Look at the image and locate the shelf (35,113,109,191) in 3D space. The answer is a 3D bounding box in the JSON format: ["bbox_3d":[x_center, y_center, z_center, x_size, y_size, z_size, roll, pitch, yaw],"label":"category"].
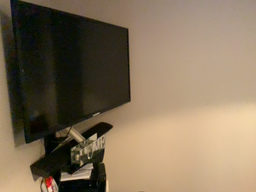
[{"bbox_3d":[-0.320,0.770,1.500,0.370,1.190,0.480,-3,10,-5],"label":"shelf"}]

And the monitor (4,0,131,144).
[{"bbox_3d":[-0.220,-0.160,1.240,0.050,0.560,0.940,2,11,26],"label":"monitor"}]
